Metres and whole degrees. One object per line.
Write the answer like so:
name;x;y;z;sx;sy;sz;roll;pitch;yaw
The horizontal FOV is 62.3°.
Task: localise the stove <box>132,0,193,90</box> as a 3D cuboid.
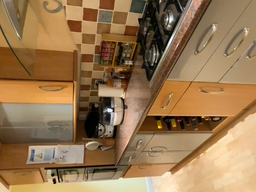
stove;0.170;-0.500;1.090;0.870;0.030;0.530;111;156;-53
